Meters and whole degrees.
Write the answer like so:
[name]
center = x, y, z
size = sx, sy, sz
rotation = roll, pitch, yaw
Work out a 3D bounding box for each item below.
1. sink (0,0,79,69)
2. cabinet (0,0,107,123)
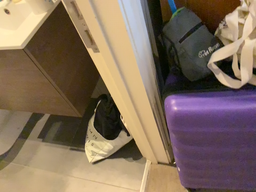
[sink]
center = -0.560, -0.290, 0.940
size = 0.600, 0.130, 0.310
rotation = 6, 55, 23
[cabinet]
center = -0.510, -0.160, 1.090
size = 0.600, 0.470, 0.320
rotation = 6, 55, 23
